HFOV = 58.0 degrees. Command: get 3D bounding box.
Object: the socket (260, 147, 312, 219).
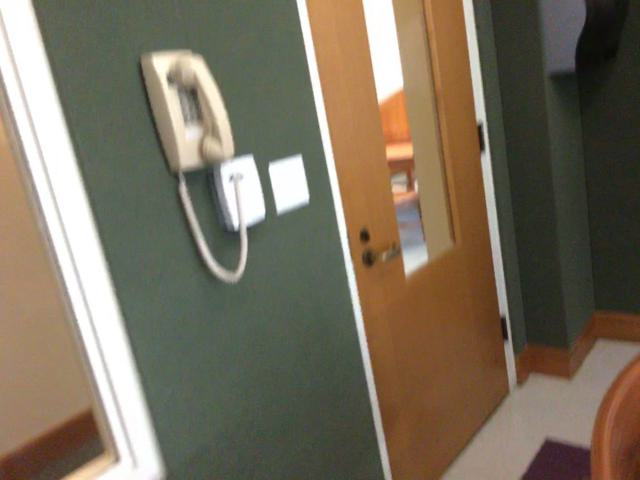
[{"bbox_3d":[-0.080,-0.140,1.400,0.020,0.150,0.130,-1,16,37],"label":"socket"}]
